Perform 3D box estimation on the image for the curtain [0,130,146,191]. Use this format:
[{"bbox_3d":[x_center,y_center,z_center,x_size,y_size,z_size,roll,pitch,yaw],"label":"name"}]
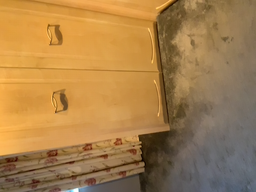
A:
[{"bbox_3d":[-0.710,0.620,1.780,0.160,1.940,0.450,-11,82,59],"label":"curtain"}]
